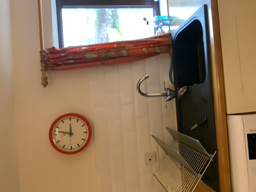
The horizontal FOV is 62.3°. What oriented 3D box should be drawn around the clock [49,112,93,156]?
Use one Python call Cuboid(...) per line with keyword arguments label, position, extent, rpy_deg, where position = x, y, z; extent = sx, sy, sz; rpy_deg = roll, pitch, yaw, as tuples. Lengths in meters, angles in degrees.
Cuboid(label="clock", position=(-0.390, 0.260, 1.470), extent=(0.040, 0.280, 0.270), rpy_deg=(172, 95, -81))
